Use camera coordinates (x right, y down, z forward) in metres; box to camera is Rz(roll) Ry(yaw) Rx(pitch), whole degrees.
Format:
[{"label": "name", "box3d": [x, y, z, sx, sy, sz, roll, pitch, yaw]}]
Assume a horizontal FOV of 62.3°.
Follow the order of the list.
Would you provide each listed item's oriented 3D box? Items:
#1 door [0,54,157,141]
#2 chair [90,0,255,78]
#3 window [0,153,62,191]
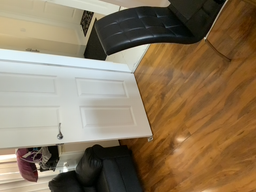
[{"label": "door", "box3d": [-0.690, -0.010, 2.050, 0.030, 2.120, 0.840, -49, 48, 47]}, {"label": "chair", "box3d": [0.330, -0.510, 1.390, 0.570, 0.950, 0.440, -57, 43, 41]}, {"label": "window", "box3d": [-1.590, 1.170, 2.640, 0.030, 1.450, 0.810, -56, 43, 41]}]
